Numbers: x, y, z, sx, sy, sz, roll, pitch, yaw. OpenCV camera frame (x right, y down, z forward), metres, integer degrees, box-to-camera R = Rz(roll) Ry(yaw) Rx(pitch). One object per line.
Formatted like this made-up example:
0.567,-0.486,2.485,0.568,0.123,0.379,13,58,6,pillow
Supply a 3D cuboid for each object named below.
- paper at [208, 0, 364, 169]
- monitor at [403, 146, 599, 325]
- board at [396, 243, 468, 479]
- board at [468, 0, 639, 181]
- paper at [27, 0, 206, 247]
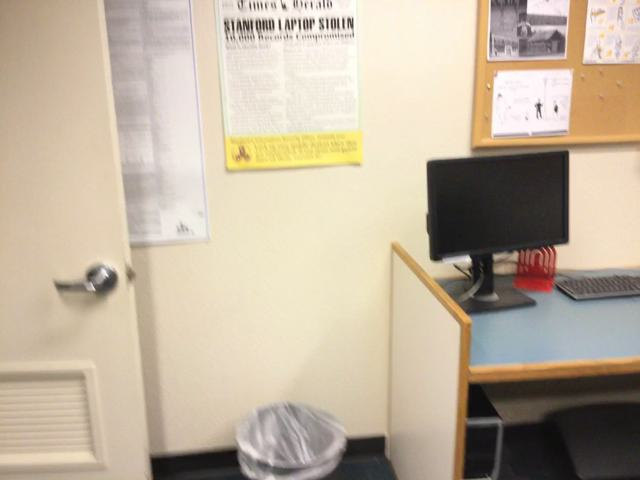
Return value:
-0.100,-0.540,1.830,0.460,0.600,0.090,-2,14,-2,paper
0.530,-0.030,1.800,0.490,0.480,0.310,-2,14,-2,monitor
0.320,0.520,1.790,0.060,0.890,0.660,-2,14,-2,board
1.040,-0.590,1.880,1.080,0.750,0.080,-2,14,-2,board
-0.630,-0.410,1.830,0.460,0.860,0.060,-2,14,-2,paper
